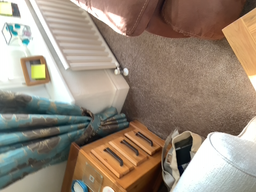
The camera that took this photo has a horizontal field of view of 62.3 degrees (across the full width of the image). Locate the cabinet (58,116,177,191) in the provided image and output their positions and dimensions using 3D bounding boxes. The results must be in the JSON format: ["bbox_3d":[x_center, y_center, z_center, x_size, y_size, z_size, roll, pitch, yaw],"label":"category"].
[{"bbox_3d":[-0.050,0.450,1.320,0.380,0.560,0.390,33,117,29],"label":"cabinet"}]
